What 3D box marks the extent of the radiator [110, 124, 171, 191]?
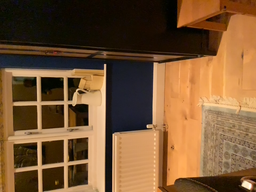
[{"bbox_3d":[0.130,1.300,2.420,0.140,0.660,1.920,-164,74,-66],"label":"radiator"}]
